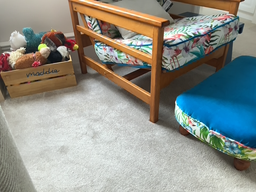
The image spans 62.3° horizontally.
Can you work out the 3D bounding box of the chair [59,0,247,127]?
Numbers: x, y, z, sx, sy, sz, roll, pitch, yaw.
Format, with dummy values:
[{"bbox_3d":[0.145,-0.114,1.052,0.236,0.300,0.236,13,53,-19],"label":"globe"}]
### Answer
[{"bbox_3d":[0.080,-0.520,1.240,0.620,0.880,0.900,-26,41,-30],"label":"chair"}]
